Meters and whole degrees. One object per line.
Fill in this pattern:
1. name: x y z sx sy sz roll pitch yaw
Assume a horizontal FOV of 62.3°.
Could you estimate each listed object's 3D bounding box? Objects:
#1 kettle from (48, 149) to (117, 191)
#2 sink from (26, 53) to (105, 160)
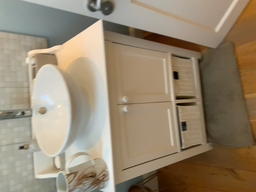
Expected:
1. kettle: -0.180 0.320 0.850 0.150 0.210 0.160 -9 85 47
2. sink: -0.320 0.060 1.000 0.450 0.140 0.400 -10 84 47
